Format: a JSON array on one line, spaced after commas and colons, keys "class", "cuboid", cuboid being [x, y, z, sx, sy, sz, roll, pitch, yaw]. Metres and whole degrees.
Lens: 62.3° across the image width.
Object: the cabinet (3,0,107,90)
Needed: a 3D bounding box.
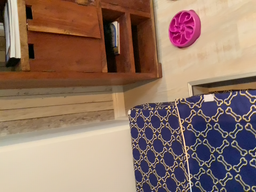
[{"class": "cabinet", "cuboid": [-0.440, -0.260, 1.230, 0.490, 0.420, 0.410, -2, 92, 53]}]
